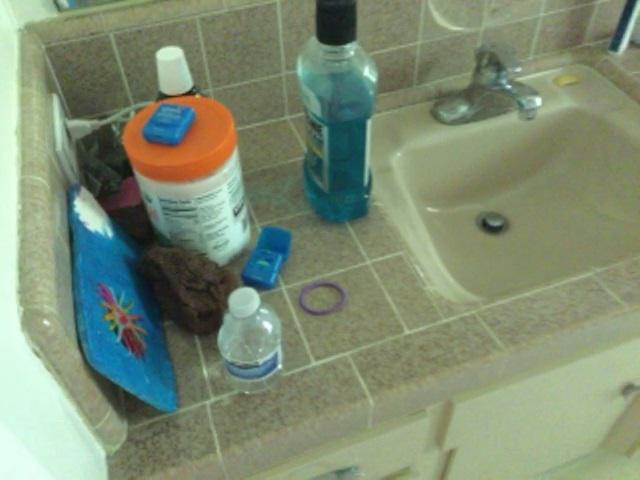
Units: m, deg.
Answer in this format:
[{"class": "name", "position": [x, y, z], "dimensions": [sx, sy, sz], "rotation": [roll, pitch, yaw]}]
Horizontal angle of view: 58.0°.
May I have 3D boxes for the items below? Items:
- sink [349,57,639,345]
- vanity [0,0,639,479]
[{"class": "sink", "position": [0.340, -0.080, 0.900], "dimensions": [0.520, 0.190, 0.310], "rotation": [-13, 47, -8]}, {"class": "vanity", "position": [0.930, -0.060, 1.080], "dimensions": [2.680, 1.030, 0.610], "rotation": [-13, 47, -8]}]
